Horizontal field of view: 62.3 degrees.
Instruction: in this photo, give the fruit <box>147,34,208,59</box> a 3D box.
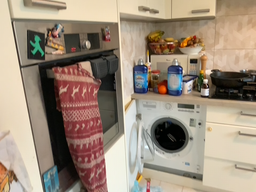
[{"bbox_3d":[0.480,-0.480,2.030,0.500,0.190,0.350,5,19,23],"label":"fruit"}]
